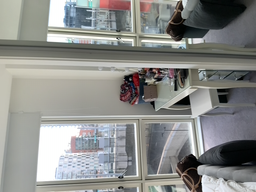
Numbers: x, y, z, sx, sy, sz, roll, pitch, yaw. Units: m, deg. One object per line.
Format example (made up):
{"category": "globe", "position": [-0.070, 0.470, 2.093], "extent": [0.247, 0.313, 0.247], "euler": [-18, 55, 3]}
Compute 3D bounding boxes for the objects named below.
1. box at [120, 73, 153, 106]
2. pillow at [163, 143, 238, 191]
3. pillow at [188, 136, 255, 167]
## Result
{"category": "box", "position": [0.100, -0.080, 2.800], "extent": [0.230, 0.380, 0.370], "euler": [121, 148, -72]}
{"category": "pillow", "position": [0.790, 0.910, 2.460], "extent": [0.560, 0.550, 0.430], "euler": [-105, 18, -59]}
{"category": "pillow", "position": [0.900, 0.520, 2.020], "extent": [0.500, 0.440, 0.240], "euler": [123, 146, -73]}
